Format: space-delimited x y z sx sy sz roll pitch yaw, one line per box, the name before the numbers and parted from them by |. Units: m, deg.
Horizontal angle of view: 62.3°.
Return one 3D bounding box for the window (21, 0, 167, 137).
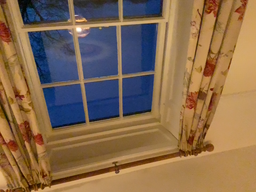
window | -0.190 -0.500 1.510 0.950 1.830 0.080 -9 -146 -13
